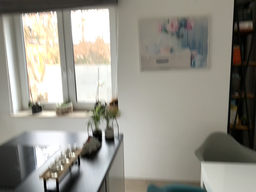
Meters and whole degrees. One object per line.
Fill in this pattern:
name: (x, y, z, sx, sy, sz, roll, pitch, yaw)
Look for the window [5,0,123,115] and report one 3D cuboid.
window: (-0.850, -0.480, 2.930, 1.500, 1.480, 0.200, 0, 10, 7)
